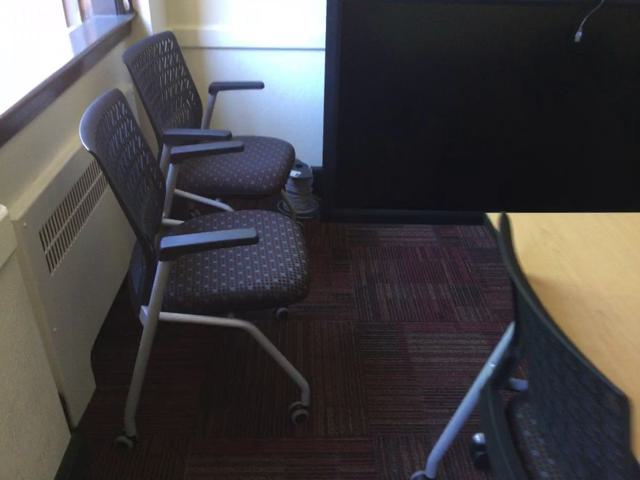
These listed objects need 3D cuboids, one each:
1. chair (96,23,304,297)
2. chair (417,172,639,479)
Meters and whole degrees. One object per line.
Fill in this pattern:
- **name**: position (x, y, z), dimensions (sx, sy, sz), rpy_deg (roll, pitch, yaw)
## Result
- **chair**: position (-0.360, -0.310, 2.110), dimensions (0.500, 0.800, 0.600), rpy_deg (3, 32, 6)
- **chair**: position (0.490, 0.380, 1.050), dimensions (0.480, 0.830, 0.580), rpy_deg (-1, 32, 0)
